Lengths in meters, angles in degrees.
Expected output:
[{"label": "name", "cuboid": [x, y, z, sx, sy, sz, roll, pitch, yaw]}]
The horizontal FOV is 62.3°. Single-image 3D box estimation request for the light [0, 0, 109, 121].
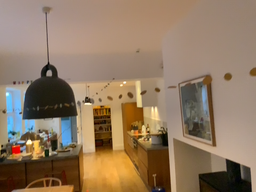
[{"label": "light", "cuboid": [-0.900, -0.350, 2.250, 1.270, 0.450, 0.600, 33, -95, -4]}]
